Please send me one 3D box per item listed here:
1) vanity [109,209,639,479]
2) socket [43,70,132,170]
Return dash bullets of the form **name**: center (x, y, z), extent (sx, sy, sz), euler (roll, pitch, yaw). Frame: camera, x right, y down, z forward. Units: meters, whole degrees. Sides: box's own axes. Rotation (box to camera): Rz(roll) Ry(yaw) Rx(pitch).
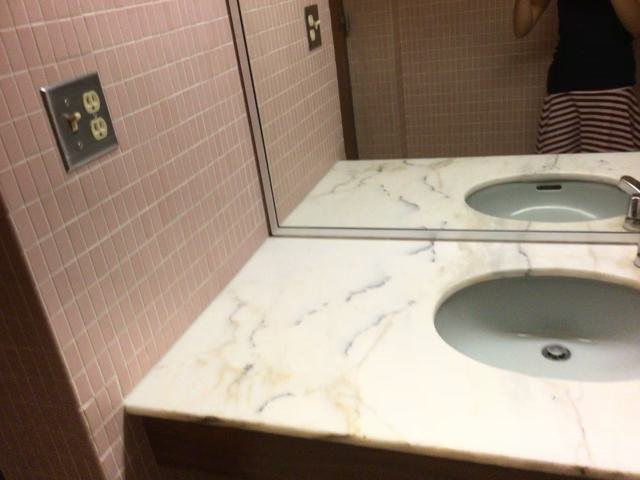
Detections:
- **vanity**: center (0.400, 0.190, 0.960), extent (1.280, 0.270, 0.600), euler (1, 26, 19)
- **socket**: center (-0.320, -0.170, 0.810), extent (0.020, 0.110, 0.120), euler (1, 26, 19)
